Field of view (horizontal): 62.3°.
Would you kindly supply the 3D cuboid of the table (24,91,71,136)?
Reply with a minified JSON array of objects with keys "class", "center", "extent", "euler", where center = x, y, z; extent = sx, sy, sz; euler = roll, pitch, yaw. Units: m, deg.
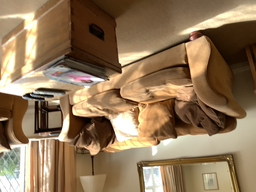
[{"class":"table","center":[-1.120,0.250,3.010],"extent":[0.560,0.550,0.340],"euler":[-3,164,-12]}]

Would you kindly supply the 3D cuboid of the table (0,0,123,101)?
[{"class":"table","center":[-0.520,-0.300,1.520],"extent":[0.820,0.430,0.460],"euler":[-17,161,32]}]

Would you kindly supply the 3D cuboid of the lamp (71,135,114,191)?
[{"class":"lamp","center":[-0.560,1.080,3.310],"extent":[0.390,0.860,0.470],"euler":[-18,160,34]}]

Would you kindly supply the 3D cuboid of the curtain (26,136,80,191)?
[{"class":"curtain","center":[-1.040,1.530,3.000],"extent":[0.700,1.810,0.290],"euler":[-2,163,-16]}]
